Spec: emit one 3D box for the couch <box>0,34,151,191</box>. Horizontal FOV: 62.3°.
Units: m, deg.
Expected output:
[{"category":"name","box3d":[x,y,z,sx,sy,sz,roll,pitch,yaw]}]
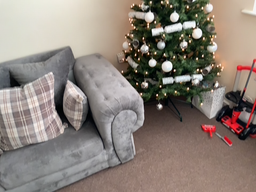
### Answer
[{"category":"couch","box3d":[-0.950,0.250,1.580,2.000,0.740,0.940,-19,37,-17]}]
